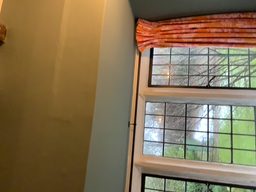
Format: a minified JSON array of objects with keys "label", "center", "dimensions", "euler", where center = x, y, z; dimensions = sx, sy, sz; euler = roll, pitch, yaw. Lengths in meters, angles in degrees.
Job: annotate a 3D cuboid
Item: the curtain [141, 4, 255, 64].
[{"label":"curtain","center":[0.800,-0.570,2.050],"dimensions":[0.450,1.270,0.340],"euler":[57,-143,-69]}]
